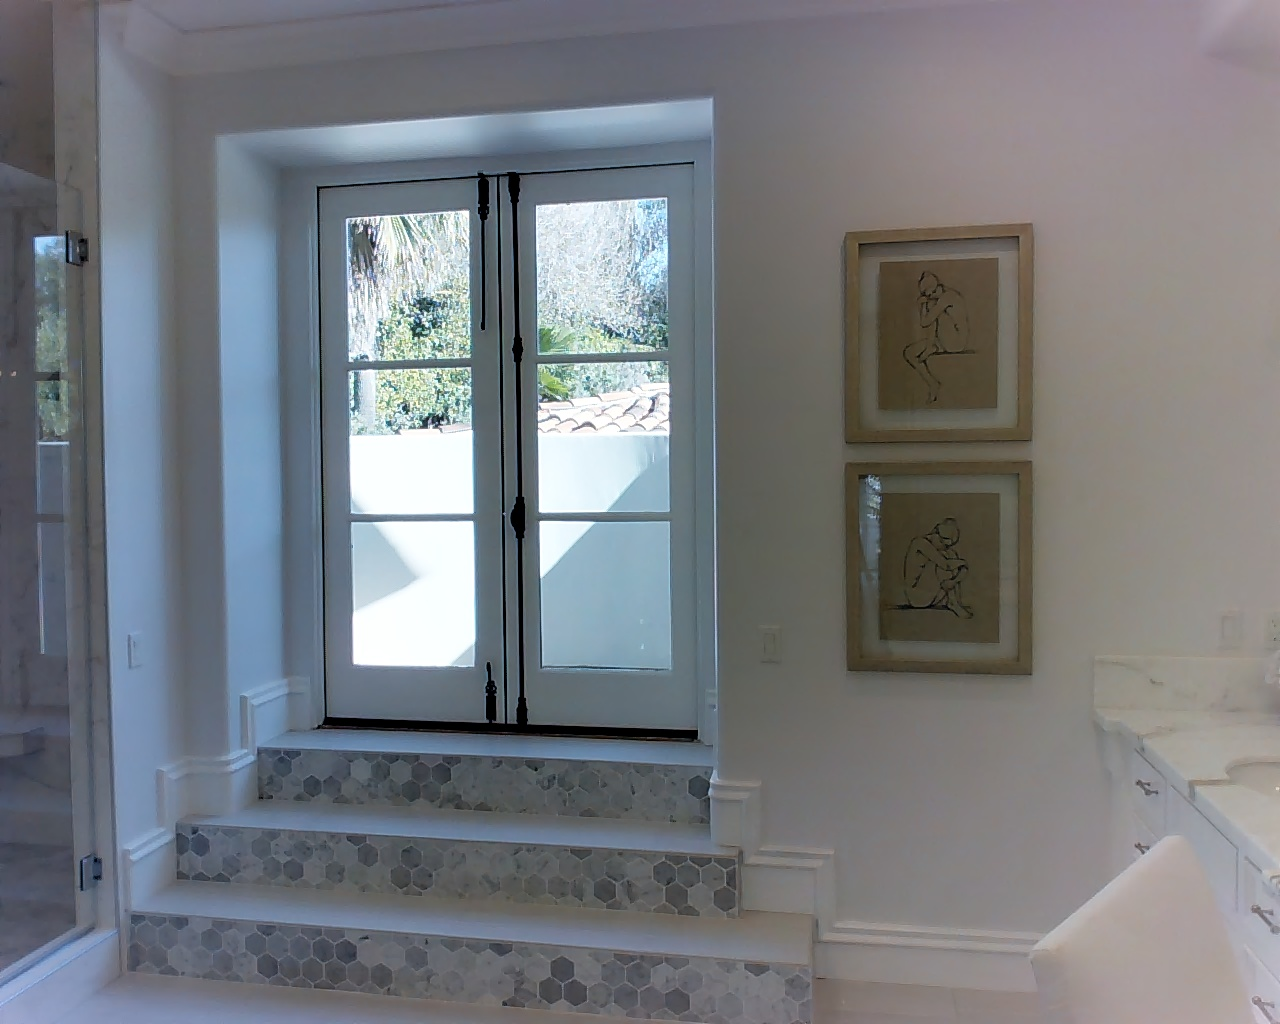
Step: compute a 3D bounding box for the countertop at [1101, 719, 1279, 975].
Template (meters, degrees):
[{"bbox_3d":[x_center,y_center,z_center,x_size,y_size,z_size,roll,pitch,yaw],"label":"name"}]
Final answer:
[{"bbox_3d":[1.590,0.710,2.400,0.730,0.150,1.530,0,1,12],"label":"countertop"}]
